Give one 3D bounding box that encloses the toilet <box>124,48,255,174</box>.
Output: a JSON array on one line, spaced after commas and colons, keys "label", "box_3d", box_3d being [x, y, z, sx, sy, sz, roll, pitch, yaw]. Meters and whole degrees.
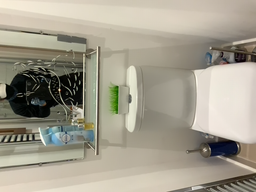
[{"label": "toilet", "box_3d": [0.480, 0.030, 1.110, 0.630, 0.810, 0.390, -172, 83, -65]}]
